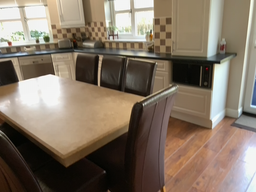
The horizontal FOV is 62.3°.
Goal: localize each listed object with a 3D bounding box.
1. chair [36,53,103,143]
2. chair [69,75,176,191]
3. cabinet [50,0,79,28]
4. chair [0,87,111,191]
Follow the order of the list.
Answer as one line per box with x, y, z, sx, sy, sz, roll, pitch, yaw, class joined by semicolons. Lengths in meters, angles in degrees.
-0.740;-0.010;2.820;0.450;1.010;0.570;13;26;38;chair
-0.020;0.400;1.630;0.630;0.980;0.400;12;26;37;chair
-1.290;-1.820;4.280;0.490;0.800;0.310;-8;21;-12;cabinet
-0.520;0.530;1.370;0.470;0.980;0.630;13;26;38;chair
